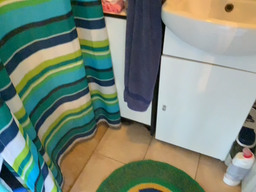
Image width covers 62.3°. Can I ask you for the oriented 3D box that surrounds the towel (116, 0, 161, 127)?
[{"bbox_3d":[0.040,-0.250,0.860,0.150,1.050,0.070,18,47,19],"label":"towel"}]

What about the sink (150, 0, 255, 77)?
[{"bbox_3d":[0.370,-0.270,0.820,0.460,0.140,0.370,17,47,17],"label":"sink"}]
